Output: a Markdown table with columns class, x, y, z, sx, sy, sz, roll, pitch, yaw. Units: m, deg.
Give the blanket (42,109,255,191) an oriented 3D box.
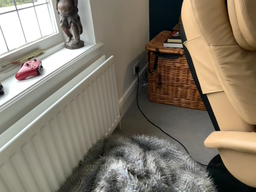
| class | x | y | z | sx | sy | sz | roll | pitch | yaw |
| --- | --- | --- | --- | --- | --- | --- | --- | --- | --- |
| blanket | 0.080 | 0.530 | 0.890 | 0.760 | 0.400 | 0.920 | 8 | 33 | 19 |
